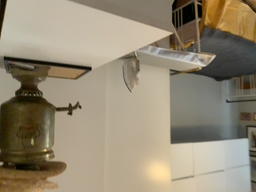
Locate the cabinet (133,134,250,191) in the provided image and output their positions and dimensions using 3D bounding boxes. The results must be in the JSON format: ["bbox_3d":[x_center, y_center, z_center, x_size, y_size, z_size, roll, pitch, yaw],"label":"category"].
[{"bbox_3d":[0.920,0.960,2.830,1.740,0.800,0.470,4,175,-32],"label":"cabinet"}]

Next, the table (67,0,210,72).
[{"bbox_3d":[0.130,-0.710,1.670,1.080,0.870,0.340,4,175,-29],"label":"table"}]
